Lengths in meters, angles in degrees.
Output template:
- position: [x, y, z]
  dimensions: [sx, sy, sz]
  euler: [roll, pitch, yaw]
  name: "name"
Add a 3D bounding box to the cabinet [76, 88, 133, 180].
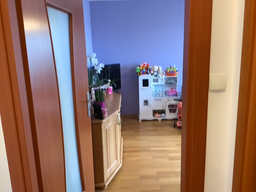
- position: [-0.280, 0.430, 3.400]
  dimensions: [0.640, 0.820, 1.820]
  euler: [-1, 12, 0]
  name: "cabinet"
